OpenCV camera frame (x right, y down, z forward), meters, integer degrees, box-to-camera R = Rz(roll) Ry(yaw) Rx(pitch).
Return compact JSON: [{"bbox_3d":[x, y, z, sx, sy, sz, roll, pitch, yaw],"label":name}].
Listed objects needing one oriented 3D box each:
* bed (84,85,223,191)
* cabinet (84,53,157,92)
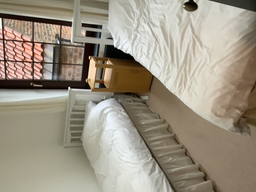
[{"bbox_3d":[0.060,0.800,2.570,2.020,0.690,1.020,-126,43,-52],"label":"bed"},{"bbox_3d":[-0.110,-0.300,2.800,0.340,0.840,0.370,-128,44,-53],"label":"cabinet"}]
